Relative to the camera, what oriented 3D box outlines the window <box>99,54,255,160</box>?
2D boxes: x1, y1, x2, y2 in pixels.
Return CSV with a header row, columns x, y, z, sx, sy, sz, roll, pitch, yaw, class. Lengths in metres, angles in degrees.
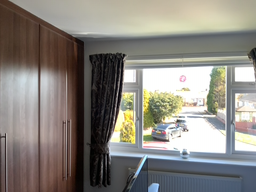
x,y,z,sx,sy,sz,roll,pitch,yaw,class
0.820,0.140,3.070,2.500,1.370,0.290,0,1,13,window
